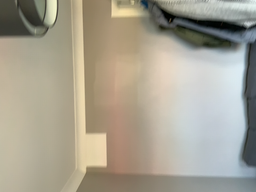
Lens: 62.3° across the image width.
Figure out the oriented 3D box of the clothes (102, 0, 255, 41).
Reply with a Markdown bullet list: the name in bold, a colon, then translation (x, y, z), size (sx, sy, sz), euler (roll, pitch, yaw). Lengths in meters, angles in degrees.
- **clothes**: translation (0.600, -0.620, 1.580), size (0.840, 1.450, 0.260), euler (-62, -29, -83)
